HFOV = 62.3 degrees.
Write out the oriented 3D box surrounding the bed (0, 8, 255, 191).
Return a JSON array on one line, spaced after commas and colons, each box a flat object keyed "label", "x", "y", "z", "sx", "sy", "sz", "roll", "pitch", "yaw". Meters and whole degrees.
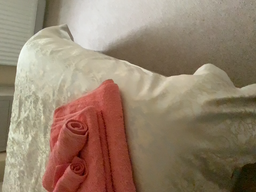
[{"label": "bed", "x": -0.310, "y": 0.630, "z": 1.450, "sx": 1.480, "sy": 0.700, "sz": 2.090, "roll": 28, "pitch": 110, "yaw": 42}]
